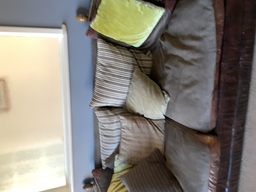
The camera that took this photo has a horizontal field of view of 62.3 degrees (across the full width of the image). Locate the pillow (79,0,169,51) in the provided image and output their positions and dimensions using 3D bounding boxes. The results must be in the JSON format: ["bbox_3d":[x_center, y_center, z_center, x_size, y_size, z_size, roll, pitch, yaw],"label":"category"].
[{"bbox_3d":[-0.030,-0.570,1.580,0.490,0.410,0.210,-29,78,36],"label":"pillow"}]

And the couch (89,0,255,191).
[{"bbox_3d":[0.230,0.130,1.690,1.060,0.780,2.100,22,114,62],"label":"couch"}]
